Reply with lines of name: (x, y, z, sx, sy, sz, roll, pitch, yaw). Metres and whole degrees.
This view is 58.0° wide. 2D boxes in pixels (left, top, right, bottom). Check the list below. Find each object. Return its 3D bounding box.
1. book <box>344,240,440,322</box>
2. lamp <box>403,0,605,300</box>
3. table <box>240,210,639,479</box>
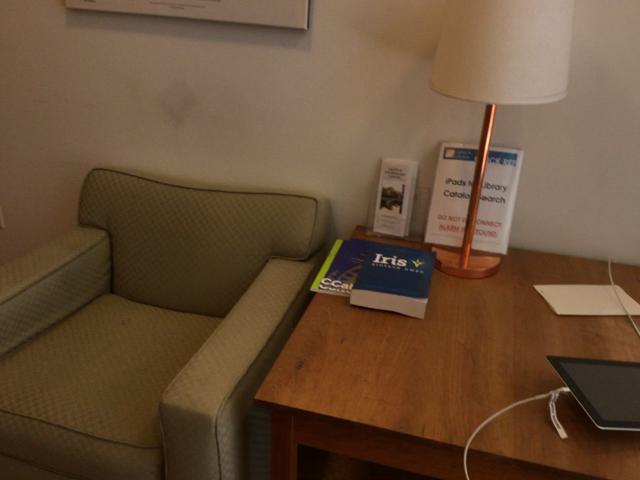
book: (0.180, 0.090, 1.390, 0.180, 0.060, 0.260, 9, 24, 15)
lamp: (0.410, -0.260, 1.360, 0.300, 0.700, 0.290, 10, 25, 14)
table: (0.370, 0.450, 1.410, 0.850, 0.700, 0.830, 9, 24, 15)
